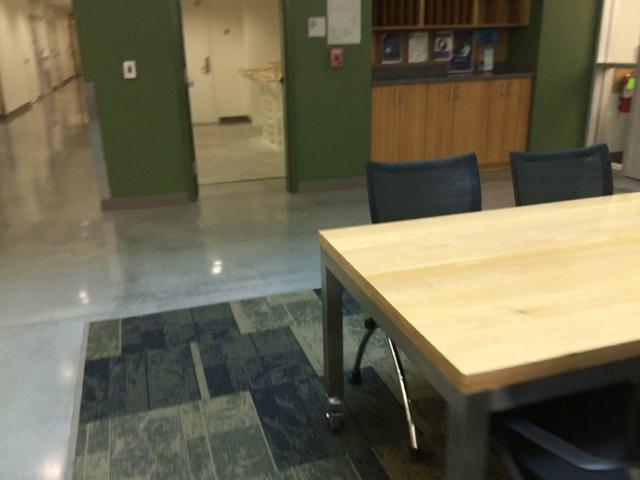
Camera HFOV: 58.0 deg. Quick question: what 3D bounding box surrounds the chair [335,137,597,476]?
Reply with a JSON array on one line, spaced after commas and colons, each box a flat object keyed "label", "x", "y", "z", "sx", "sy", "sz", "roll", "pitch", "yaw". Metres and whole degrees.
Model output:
[{"label": "chair", "x": 0.460, "y": 0.180, "z": 2.080, "sx": 0.640, "sy": 0.960, "sz": 0.640, "roll": -7, "pitch": 18, "yaw": -10}]

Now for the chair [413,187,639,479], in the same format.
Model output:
[{"label": "chair", "x": 0.630, "y": 0.430, "z": 1.280, "sx": 0.580, "sy": 0.900, "sz": 0.750, "roll": -8, "pitch": 18, "yaw": -12}]
